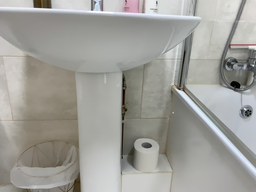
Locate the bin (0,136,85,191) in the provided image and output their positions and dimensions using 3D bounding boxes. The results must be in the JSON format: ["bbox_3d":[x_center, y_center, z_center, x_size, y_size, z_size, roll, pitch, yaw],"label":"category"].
[{"bbox_3d":[-0.350,0.380,0.960,0.280,0.280,0.270,-1,21,-8],"label":"bin"}]

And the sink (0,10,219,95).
[{"bbox_3d":[-0.100,-0.170,0.690,0.560,0.180,0.450,0,21,-7],"label":"sink"}]
